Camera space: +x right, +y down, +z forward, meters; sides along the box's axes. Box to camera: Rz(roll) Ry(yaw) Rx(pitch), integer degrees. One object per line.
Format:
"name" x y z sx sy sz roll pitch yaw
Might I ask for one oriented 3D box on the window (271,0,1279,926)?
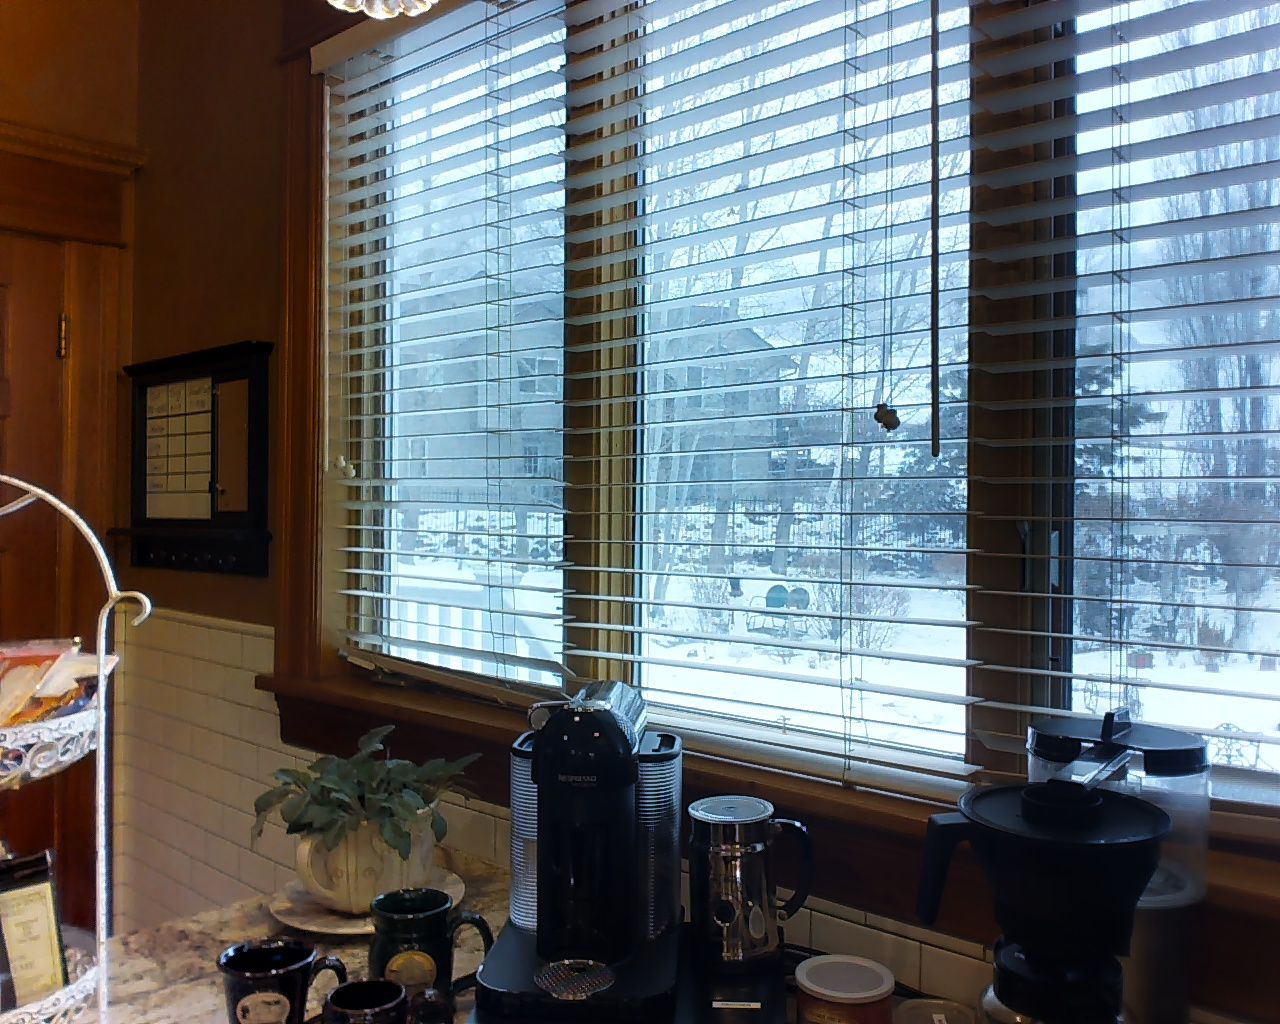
"window" 0.180 -0.270 1.510 2.260 1.310 0.190 1 0 41
